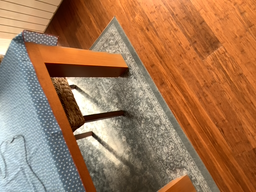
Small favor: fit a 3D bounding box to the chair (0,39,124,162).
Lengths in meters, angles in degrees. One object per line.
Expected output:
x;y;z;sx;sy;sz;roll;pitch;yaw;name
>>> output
-0.610;0.030;1.400;0.470;0.990;0.570;-35;72;36;chair
